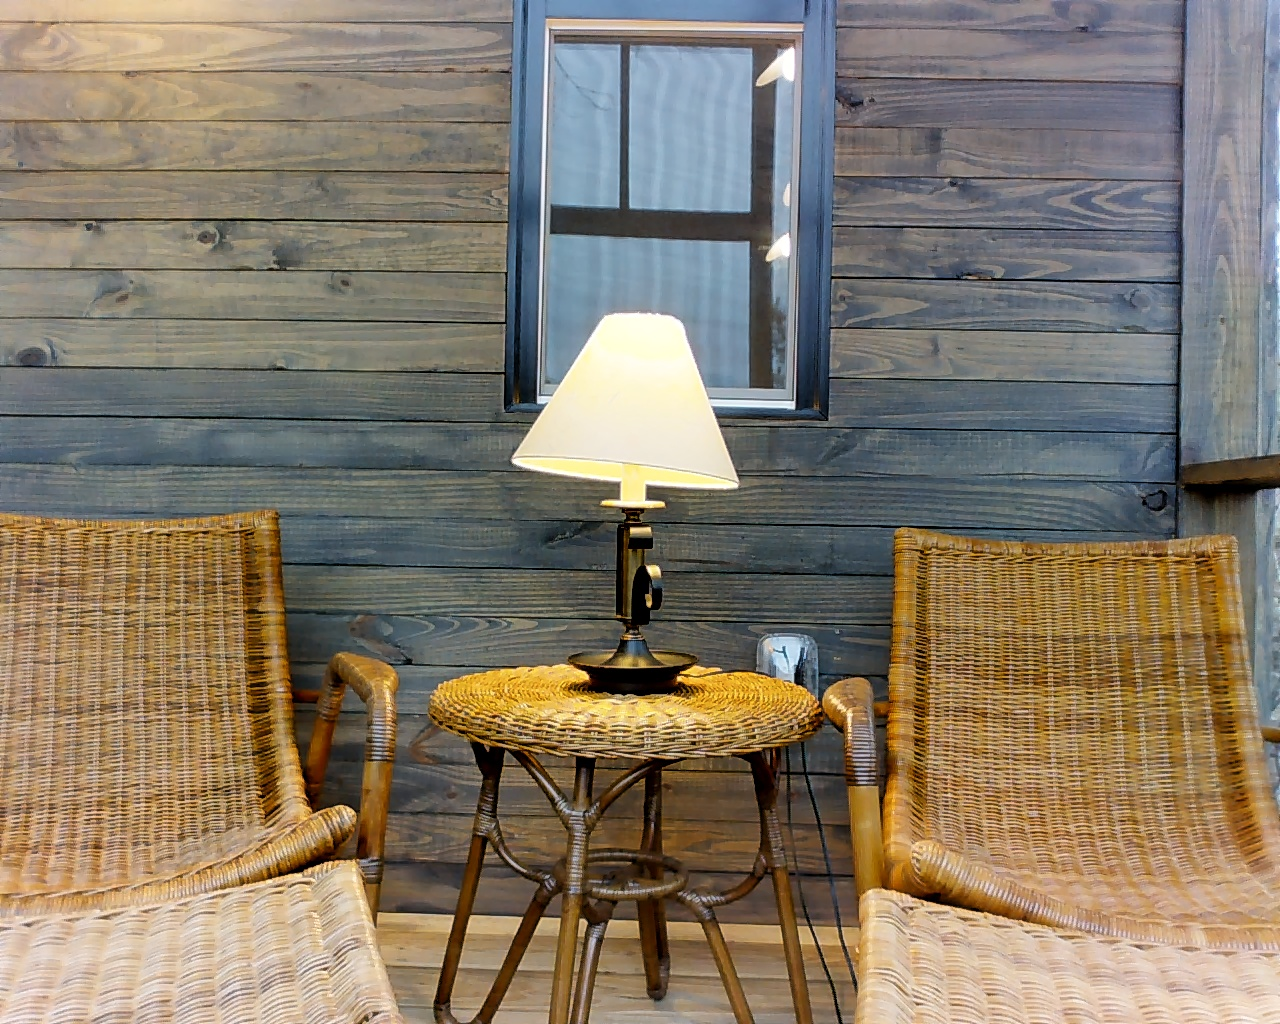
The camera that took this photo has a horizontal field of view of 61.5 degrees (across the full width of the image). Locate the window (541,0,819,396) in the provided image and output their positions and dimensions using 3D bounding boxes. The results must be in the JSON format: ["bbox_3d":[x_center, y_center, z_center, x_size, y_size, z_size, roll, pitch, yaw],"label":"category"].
[{"bbox_3d":[0.080,-0.900,2.020,0.500,1.350,0.050,1,0,2],"label":"window"}]
